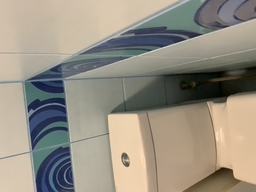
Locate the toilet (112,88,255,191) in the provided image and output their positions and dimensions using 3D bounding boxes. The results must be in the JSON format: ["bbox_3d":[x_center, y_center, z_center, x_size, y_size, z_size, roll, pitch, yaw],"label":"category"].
[{"bbox_3d":[0.490,0.170,0.800,0.670,0.840,0.370,-3,93,52],"label":"toilet"}]
